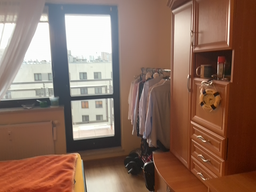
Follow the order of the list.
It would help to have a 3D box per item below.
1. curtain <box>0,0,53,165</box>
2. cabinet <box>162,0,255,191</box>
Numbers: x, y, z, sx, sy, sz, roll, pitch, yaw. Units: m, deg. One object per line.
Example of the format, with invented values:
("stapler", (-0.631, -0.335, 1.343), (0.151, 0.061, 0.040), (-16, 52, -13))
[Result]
("curtain", (-1.930, -0.270, 2.560), (1.760, 2.340, 0.180), (-3, 10, -13))
("cabinet", (0.650, -0.120, 1.720), (0.390, 1.440, 0.870), (-4, 10, -16))
